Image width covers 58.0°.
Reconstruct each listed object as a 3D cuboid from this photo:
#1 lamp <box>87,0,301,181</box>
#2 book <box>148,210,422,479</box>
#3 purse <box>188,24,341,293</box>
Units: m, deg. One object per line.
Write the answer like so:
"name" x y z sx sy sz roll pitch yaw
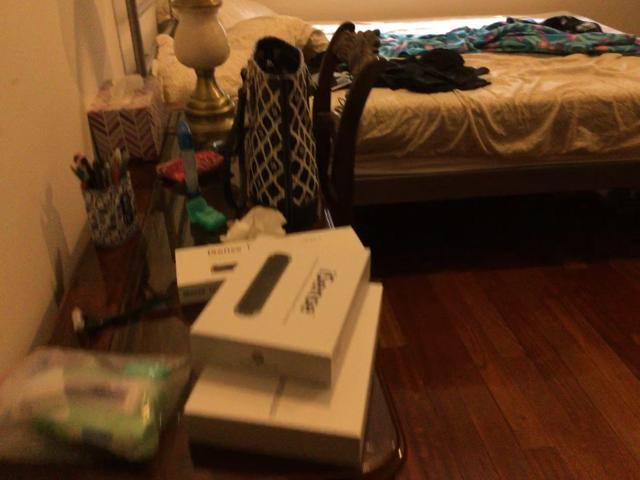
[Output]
"lamp" -0.260 -0.550 1.220 0.370 0.740 0.350 -5 31 -3
"book" -0.040 0.100 0.670 0.240 0.110 0.320 -5 31 -2
"purse" -0.090 -0.170 1.060 0.200 0.340 0.410 -5 31 -2
